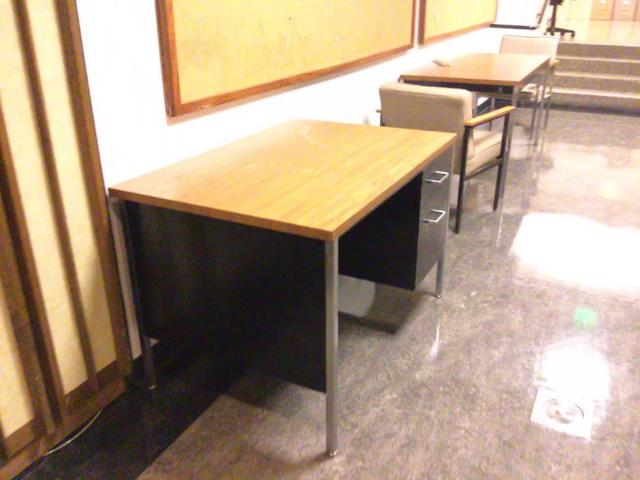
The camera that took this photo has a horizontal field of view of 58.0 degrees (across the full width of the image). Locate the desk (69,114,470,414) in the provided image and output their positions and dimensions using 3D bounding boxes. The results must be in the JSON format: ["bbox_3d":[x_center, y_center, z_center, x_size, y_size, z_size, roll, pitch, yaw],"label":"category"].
[{"bbox_3d":[-0.070,-0.060,2.060,0.820,0.480,1.190,12,28,29],"label":"desk"}]

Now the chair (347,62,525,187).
[{"bbox_3d":[0.670,-0.700,3.310,0.760,0.500,0.740,11,28,29],"label":"chair"}]
